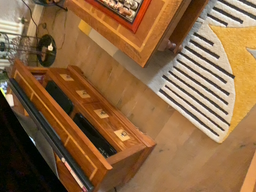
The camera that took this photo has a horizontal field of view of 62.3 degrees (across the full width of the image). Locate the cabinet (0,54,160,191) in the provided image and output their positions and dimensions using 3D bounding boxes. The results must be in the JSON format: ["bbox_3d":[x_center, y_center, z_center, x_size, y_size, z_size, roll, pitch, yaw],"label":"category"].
[{"bbox_3d":[-0.480,0.290,1.760,1.140,0.630,0.700,43,116,24],"label":"cabinet"}]
